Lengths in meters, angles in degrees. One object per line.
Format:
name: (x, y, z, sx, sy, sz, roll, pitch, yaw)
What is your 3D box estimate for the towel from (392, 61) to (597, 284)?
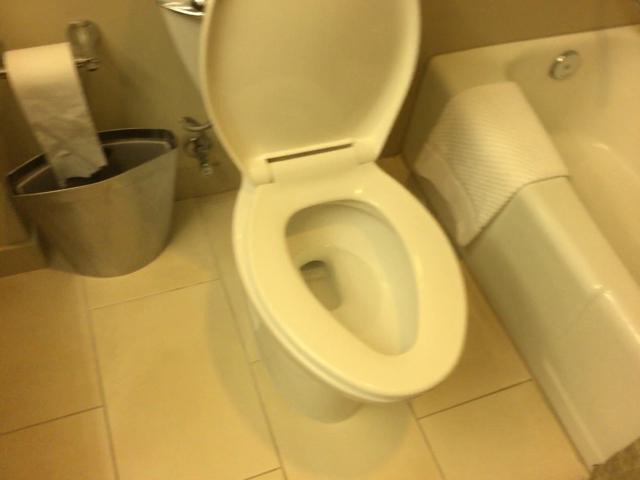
towel: (0.390, -0.160, 1.410, 0.240, 0.360, 0.350, -14, 57, -16)

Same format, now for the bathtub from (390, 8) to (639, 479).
bathtub: (0.820, 0.120, 1.230, 0.760, 0.390, 1.420, -14, 57, -16)
